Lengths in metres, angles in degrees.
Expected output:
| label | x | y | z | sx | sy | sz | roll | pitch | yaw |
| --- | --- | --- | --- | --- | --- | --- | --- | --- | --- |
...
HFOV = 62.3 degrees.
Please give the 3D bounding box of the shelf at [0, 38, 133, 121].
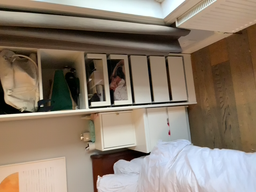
| label | x | y | z | sx | sy | sz | roll | pitch | yaw |
| --- | --- | --- | --- | --- | --- | --- | --- | --- | --- |
| shelf | -0.870 | -0.090 | 1.700 | 0.610 | 1.690 | 0.520 | 159 | 108 | -65 |
